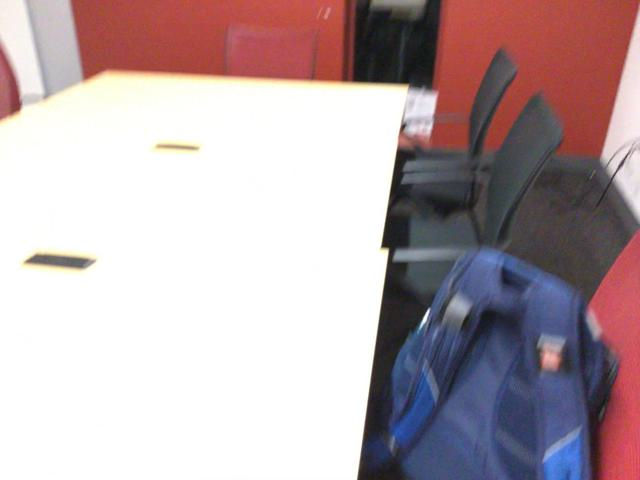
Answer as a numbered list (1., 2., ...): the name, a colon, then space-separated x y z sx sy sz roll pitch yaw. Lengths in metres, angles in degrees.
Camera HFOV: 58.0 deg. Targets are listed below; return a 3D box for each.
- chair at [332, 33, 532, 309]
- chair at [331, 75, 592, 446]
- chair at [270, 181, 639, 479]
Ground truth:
1. chair: 0.420 -0.300 2.370 0.580 0.900 0.590 9 30 7
2. chair: 0.380 0.050 1.830 0.540 0.950 0.570 8 29 8
3. chair: 0.270 0.450 1.060 0.610 0.890 0.560 9 30 7
